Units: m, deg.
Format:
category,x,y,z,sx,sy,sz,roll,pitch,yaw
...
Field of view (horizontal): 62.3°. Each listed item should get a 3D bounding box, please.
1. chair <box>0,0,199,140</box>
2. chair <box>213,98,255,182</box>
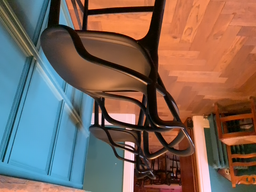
category,x,y,z,sx,sy,sz,roll,pitch,yaw
chair,-0.090,-0.320,0.870,0.530,0.890,0.450,1,155,1
chair,1.380,0.580,2.680,0.440,0.920,0.540,-8,154,20
